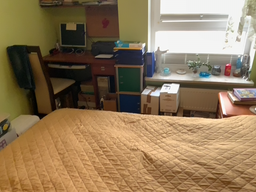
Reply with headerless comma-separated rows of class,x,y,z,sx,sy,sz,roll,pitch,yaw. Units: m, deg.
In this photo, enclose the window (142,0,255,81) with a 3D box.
window,0.840,-1.120,2.430,1.340,1.930,0.170,2,26,9
